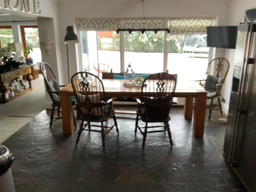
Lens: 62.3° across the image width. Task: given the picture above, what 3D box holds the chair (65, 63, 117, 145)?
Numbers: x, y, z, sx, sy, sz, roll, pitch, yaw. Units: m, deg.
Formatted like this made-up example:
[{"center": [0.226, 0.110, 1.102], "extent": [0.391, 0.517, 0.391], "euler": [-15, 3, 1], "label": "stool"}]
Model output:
[{"center": [-0.540, 0.090, 3.370], "extent": [0.550, 1.120, 0.670], "euler": [3, 17, 11], "label": "chair"}]

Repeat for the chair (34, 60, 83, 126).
[{"center": [-1.260, -0.080, 3.990], "extent": [0.630, 1.130, 0.540], "euler": [0, 17, 3], "label": "chair"}]

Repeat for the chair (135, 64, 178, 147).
[{"center": [0.400, 0.120, 3.300], "extent": [0.550, 1.130, 0.650], "euler": [0, 17, 0], "label": "chair"}]

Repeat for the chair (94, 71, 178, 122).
[{"center": [0.170, -0.030, 4.310], "extent": [1.570, 0.840, 0.570], "euler": [2, 17, 9], "label": "chair"}]
